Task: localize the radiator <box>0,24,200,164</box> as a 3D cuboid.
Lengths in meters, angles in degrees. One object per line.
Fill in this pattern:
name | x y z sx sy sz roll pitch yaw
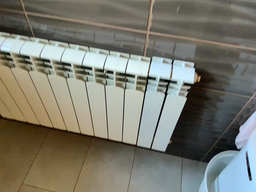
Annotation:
radiator | -0.270 0.040 1.080 1.030 0.750 0.110 11 52 5
